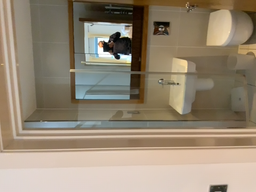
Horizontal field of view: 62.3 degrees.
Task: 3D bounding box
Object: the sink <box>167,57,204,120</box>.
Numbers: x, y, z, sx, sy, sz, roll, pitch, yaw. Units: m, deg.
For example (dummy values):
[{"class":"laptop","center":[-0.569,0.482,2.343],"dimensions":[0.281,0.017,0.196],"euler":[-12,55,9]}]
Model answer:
[{"class":"sink","center":[0.640,-0.110,2.460],"dimensions":[0.470,0.200,0.650],"euler":[-115,27,-75]}]
